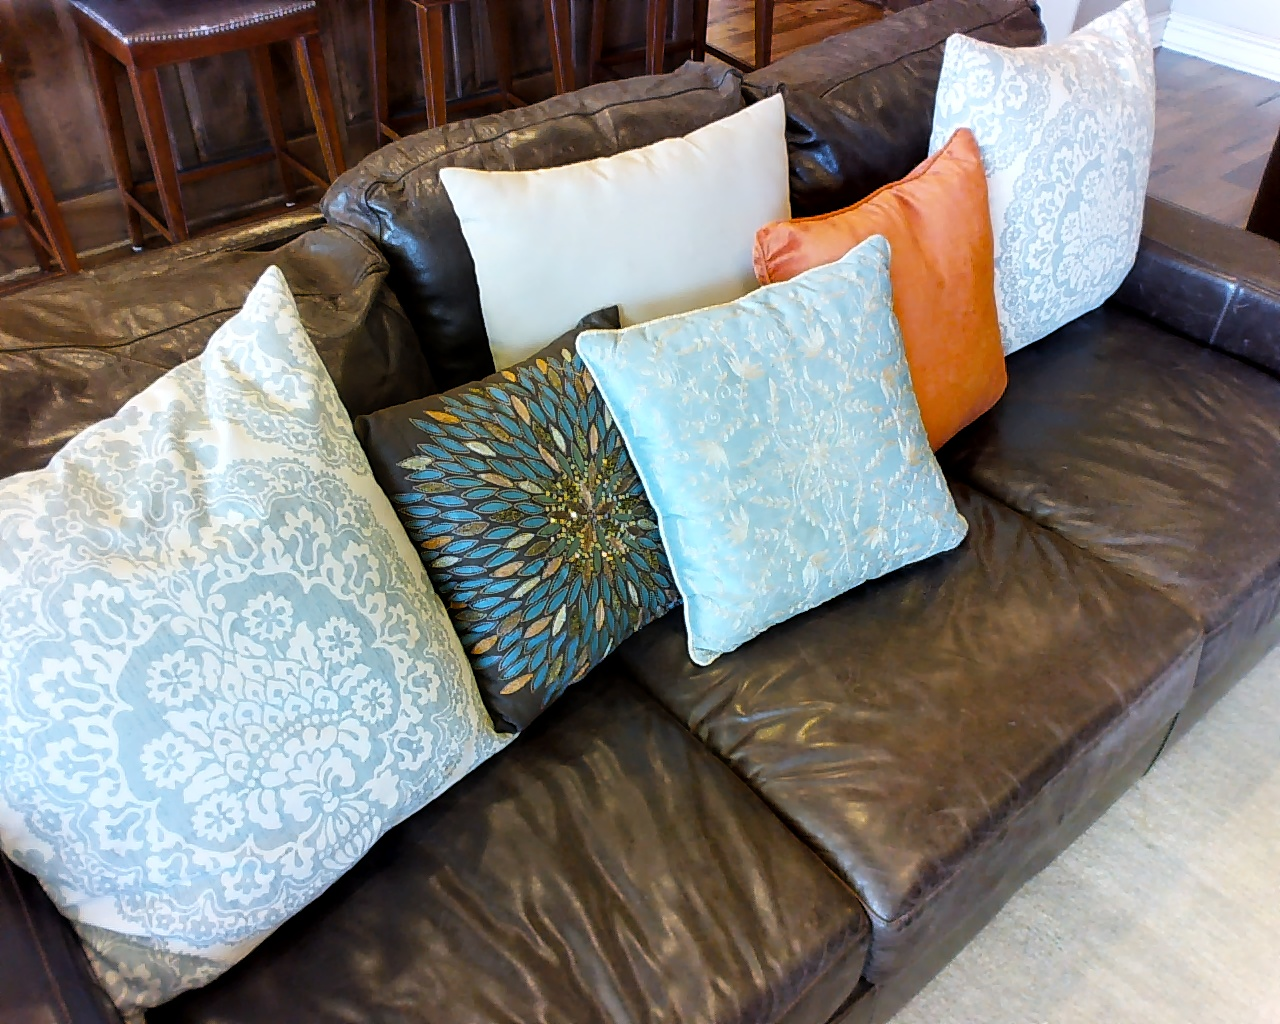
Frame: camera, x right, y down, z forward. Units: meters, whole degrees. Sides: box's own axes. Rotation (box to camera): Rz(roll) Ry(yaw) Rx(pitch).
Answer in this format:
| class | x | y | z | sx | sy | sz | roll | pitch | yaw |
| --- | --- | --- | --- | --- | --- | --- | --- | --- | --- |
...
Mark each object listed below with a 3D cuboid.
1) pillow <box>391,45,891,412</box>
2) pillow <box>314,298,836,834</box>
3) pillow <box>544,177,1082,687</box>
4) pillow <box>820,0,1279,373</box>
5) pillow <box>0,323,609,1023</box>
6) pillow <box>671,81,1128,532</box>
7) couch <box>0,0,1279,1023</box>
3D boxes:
| class | x | y | z | sx | sy | sz | roll | pitch | yaw |
| --- | --- | --- | --- | --- | --- | --- | --- | --- | --- |
| pillow | 0.020 | -0.410 | 1.460 | 0.640 | 0.240 | 0.240 | -29 | 51 | -29 |
| pillow | -0.070 | 0.040 | 1.220 | 0.410 | 0.330 | 0.350 | -29 | 51 | -29 |
| pillow | 0.200 | -0.130 | 1.370 | 0.480 | 0.340 | 0.410 | -29 | 51 | -29 |
| pillow | 0.700 | -0.610 | 1.820 | 0.630 | 0.520 | 0.340 | -22 | 47 | -36 |
| pillow | -0.450 | 0.120 | 1.040 | 0.570 | 0.320 | 0.580 | 37 | 10 | 24 |
| pillow | 0.370 | -0.330 | 1.600 | 0.410 | 0.380 | 0.500 | 30 | 50 | 28 |
| couch | 0.130 | 0.010 | 1.590 | 2.500 | 0.760 | 1.320 | -29 | 51 | -29 |
